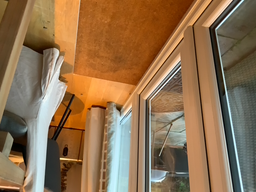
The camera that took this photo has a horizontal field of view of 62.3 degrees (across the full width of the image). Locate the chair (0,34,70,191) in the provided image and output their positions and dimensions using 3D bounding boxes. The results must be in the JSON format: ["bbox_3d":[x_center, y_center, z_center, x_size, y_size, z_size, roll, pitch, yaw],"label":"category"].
[{"bbox_3d":[-0.720,0.200,1.230,0.570,0.980,0.480,9,154,-15],"label":"chair"}]

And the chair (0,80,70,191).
[{"bbox_3d":[-0.870,0.450,1.790,0.570,0.980,0.480,9,154,-15],"label":"chair"}]
